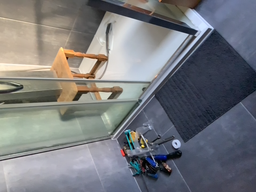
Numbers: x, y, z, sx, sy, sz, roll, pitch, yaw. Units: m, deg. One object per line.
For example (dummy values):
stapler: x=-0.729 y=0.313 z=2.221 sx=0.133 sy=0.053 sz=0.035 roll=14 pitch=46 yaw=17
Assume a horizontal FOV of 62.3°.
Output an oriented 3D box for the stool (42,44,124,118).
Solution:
stool: x=-0.400 y=-0.120 z=1.840 sx=0.380 sy=0.470 sz=0.450 roll=-49 pitch=57 yaw=38
